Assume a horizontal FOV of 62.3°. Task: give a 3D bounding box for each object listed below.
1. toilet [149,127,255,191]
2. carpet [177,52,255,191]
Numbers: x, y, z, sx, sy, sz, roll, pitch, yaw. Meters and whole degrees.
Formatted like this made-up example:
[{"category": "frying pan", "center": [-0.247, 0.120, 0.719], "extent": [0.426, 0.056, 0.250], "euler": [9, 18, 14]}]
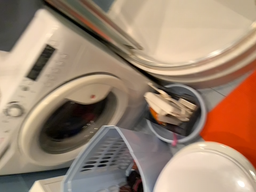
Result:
[{"category": "toilet", "center": [0.330, 0.430, 0.860], "extent": [0.360, 0.440, 0.490], "euler": [16, 87, 31]}, {"category": "carpet", "center": [0.770, 0.250, 0.910], "extent": [0.670, 0.040, 0.920], "euler": [-47, 61, 12]}]
